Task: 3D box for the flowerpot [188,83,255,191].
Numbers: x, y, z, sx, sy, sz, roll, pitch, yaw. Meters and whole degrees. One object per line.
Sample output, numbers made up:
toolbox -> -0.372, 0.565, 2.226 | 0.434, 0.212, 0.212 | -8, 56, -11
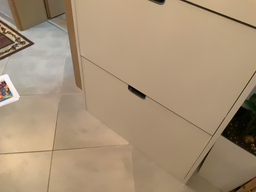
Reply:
flowerpot -> 0.510, 0.170, 0.890 | 0.180, 0.830, 0.260 | 32, 52, 22
